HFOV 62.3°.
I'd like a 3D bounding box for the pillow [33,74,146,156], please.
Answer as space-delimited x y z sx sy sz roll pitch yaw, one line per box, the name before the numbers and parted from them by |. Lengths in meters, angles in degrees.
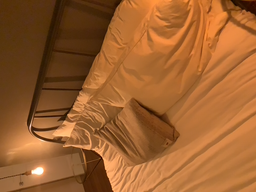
pillow | -0.250 0.170 1.530 0.650 0.430 0.200 -26 59 6
